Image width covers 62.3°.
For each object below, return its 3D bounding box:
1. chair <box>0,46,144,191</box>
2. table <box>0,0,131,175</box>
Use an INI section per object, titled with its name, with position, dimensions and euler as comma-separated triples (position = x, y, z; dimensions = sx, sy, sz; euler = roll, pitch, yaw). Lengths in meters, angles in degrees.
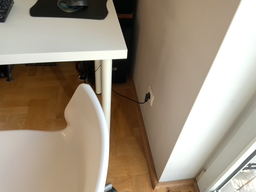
[chair]
position = -0.350, 0.310, 0.730
dimensions = 0.670, 0.720, 0.610
euler = -1, 47, -8
[table]
position = -0.570, -0.080, 1.050
dimensions = 1.020, 0.750, 0.620
euler = -3, 47, -9
